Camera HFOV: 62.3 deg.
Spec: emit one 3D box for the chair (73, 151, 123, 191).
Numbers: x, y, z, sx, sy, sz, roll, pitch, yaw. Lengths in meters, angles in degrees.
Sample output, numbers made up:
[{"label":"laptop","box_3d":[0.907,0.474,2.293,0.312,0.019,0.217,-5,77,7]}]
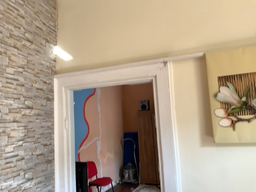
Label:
[{"label":"chair","box_3d":[-0.610,1.740,4.330,0.820,1.100,0.560,-6,-7,24]}]
